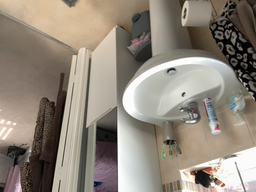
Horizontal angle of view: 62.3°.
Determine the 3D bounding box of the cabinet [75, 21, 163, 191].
[{"bbox_3d":[-0.070,0.240,1.380,0.320,1.650,0.380,24,138,-33],"label":"cabinet"}]
